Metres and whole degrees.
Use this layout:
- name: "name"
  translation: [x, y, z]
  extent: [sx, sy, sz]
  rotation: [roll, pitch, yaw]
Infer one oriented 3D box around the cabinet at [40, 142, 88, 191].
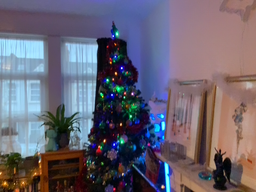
- name: "cabinet"
  translation: [-0.820, 1.130, 2.760]
  extent: [0.540, 0.900, 0.550]
  rotation: [-1, 1, -17]
